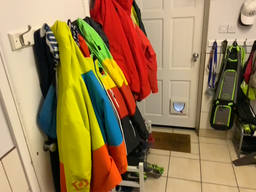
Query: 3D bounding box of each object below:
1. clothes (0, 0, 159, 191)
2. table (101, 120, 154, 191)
[{"bbox_3d":[-0.020,-0.090,1.890,0.380,1.620,2.040,2,24,13],"label":"clothes"},{"bbox_3d":[0.050,0.640,2.450,0.390,0.250,0.960,2,24,13],"label":"table"}]
